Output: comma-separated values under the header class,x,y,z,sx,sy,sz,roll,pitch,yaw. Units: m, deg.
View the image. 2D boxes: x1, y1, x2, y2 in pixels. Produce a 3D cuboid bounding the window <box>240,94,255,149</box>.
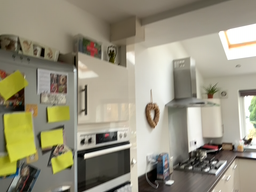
class,x,y,z,sx,sy,sz,roll,pitch,yaw
window,2.500,0.490,4.080,0.550,1.030,0.230,-4,-6,35
